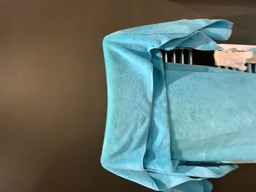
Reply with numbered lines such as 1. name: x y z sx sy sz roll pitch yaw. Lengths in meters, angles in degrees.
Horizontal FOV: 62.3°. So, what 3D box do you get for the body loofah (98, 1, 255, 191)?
1. body loofah: 0.440 0.100 1.040 0.200 1.140 0.940 -156 68 -83
